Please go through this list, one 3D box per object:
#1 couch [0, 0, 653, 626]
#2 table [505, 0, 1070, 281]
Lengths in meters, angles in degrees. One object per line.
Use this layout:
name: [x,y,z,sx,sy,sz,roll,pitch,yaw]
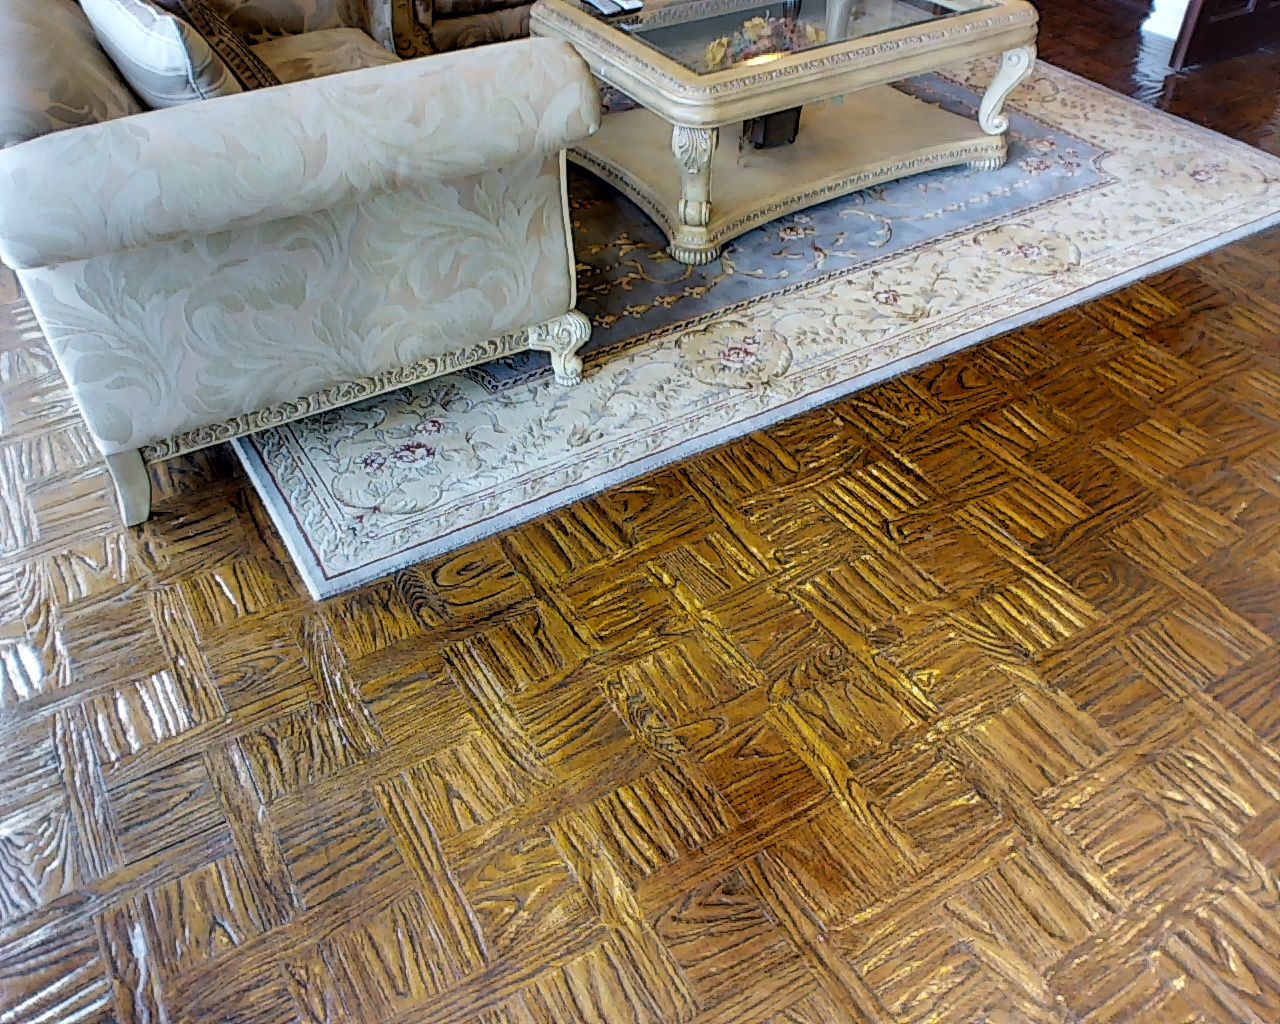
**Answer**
couch: [-0.950,-0.860,2.480,1.160,0.920,1.850,-21,46,-22]
table: [0.410,-1.310,3.260,1.330,0.510,0.950,-21,46,-22]
